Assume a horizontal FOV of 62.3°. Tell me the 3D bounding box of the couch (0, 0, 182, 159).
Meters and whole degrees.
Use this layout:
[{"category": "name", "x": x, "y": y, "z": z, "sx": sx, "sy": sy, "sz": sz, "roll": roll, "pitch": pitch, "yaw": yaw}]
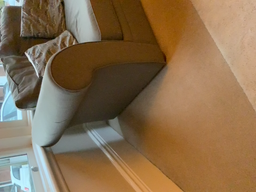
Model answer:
[{"category": "couch", "x": -0.530, "y": -0.490, "z": 1.770, "sx": 1.080, "sy": 0.950, "sz": 1.600, "roll": -47, "pitch": 53, "yaw": 51}]
